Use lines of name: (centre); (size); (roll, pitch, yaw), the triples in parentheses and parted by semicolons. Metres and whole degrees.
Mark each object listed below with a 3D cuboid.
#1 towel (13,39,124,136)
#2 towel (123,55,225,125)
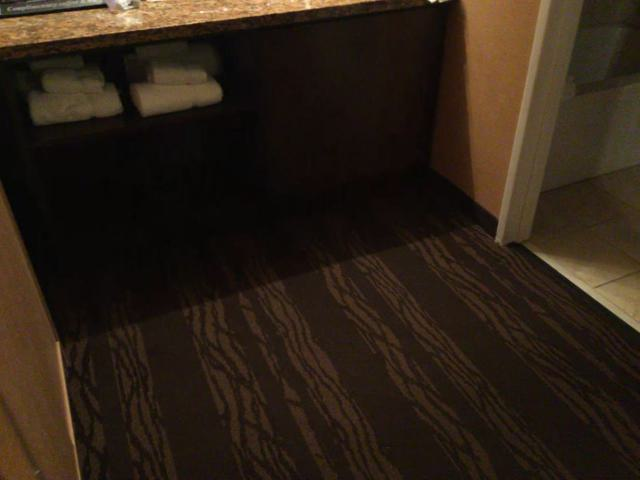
towel: (-0.860, -0.530, 1.970); (0.280, 0.160, 0.340); (-17, 41, -18)
towel: (-0.510, -0.530, 2.020); (0.290, 0.120, 0.200); (-17, 41, -18)
